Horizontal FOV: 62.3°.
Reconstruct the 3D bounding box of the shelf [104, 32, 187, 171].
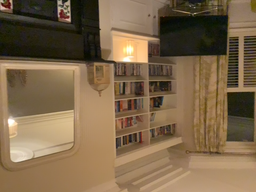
[{"bbox_3d":[0.390,0.040,3.700,1.630,1.990,0.360,-5,-173,-40],"label":"shelf"}]
